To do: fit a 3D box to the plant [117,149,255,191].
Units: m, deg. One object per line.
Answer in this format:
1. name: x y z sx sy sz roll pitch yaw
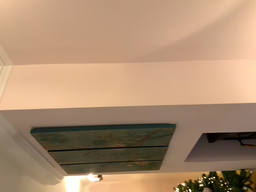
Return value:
1. plant: 0.710 1.290 2.510 0.890 1.650 1.010 91 178 -57
